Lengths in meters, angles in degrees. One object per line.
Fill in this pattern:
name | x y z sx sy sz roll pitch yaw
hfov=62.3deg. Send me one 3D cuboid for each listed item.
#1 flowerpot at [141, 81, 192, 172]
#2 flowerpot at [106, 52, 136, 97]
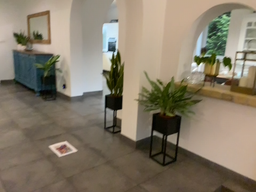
flowerpot | 0.410 0.310 2.370 0.280 0.890 0.390 -8 17 -39
flowerpot | -0.100 -0.300 2.860 0.280 0.560 0.250 -8 17 -39
